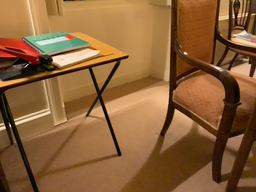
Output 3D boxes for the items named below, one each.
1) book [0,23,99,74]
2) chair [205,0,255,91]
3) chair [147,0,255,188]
[{"bbox_3d":[-0.450,-0.250,1.000,0.460,0.070,0.420,-23,37,-36],"label":"book"},{"bbox_3d":[1.230,-0.610,2.200,0.420,0.920,0.500,-19,34,-32],"label":"chair"},{"bbox_3d":[0.560,-0.090,1.300,0.590,0.910,0.580,-20,35,-33],"label":"chair"}]
